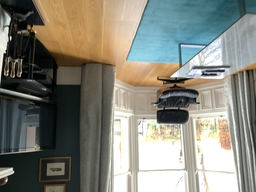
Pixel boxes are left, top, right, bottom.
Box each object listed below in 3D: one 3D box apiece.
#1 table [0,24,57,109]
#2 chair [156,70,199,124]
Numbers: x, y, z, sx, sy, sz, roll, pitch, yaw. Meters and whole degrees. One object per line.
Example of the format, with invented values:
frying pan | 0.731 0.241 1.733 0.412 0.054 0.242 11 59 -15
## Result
table | -1.380 -0.250 2.510 0.600 0.670 1.070 -2 169 6
chair | 0.840 0.070 3.840 0.570 0.830 0.830 -1 169 2
